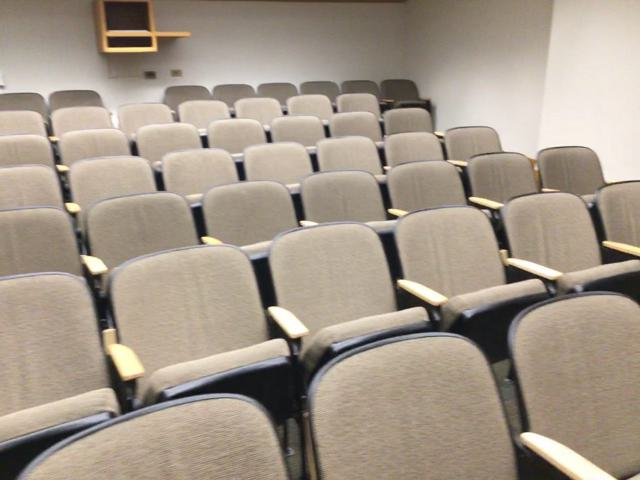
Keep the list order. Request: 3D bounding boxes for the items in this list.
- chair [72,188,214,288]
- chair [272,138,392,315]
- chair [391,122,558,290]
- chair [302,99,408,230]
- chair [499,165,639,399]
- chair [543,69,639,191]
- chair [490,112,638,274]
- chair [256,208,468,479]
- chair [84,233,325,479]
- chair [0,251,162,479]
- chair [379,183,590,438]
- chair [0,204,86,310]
[{"bbox_3d":[-0.790,-0.030,2.590,0.530,0.270,0.450,-9,18,-17],"label":"chair"},{"bbox_3d":[0.060,-0.100,3.100,0.450,0.800,0.500,-9,18,-17],"label":"chair"},{"bbox_3d":[0.880,-0.220,3.360,0.660,0.810,0.600,-9,9,-17],"label":"chair"},{"bbox_3d":[0.240,-0.550,4.030,0.530,0.790,0.540,-9,18,-17],"label":"chair"},{"bbox_3d":[1.200,0.130,2.510,0.570,0.810,0.560,-10,14,-19],"label":"chair"},{"bbox_3d":[2.150,-0.860,4.440,0.600,0.830,0.510,-7,17,-10],"label":"chair"},{"bbox_3d":[1.450,-0.300,3.460,0.590,0.830,0.530,-9,11,-17],"label":"chair"},{"bbox_3d":[0.140,0.350,2.150,0.510,0.760,0.630,-11,18,-22],"label":"chair"},{"bbox_3d":[-0.390,0.460,1.940,0.570,0.770,0.570,-12,19,-25],"label":"chair"},{"bbox_3d":[-0.840,0.550,1.690,0.570,0.810,0.630,-13,19,-27],"label":"chair"},{"bbox_3d":[0.640,0.230,2.330,0.560,0.790,0.550,-11,16,-21],"label":"chair"},{"bbox_3d":[-1.270,0.070,2.390,0.500,0.310,0.370,-9,18,-17],"label":"chair"}]
